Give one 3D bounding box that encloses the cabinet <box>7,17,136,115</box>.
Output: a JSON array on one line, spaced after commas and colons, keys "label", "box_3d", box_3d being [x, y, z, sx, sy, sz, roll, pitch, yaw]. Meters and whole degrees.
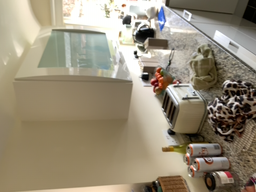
[{"label": "cabinet", "box_3d": [-0.430, -0.320, 1.800, 1.100, 0.740, 0.340, -108, 22, -54]}]
